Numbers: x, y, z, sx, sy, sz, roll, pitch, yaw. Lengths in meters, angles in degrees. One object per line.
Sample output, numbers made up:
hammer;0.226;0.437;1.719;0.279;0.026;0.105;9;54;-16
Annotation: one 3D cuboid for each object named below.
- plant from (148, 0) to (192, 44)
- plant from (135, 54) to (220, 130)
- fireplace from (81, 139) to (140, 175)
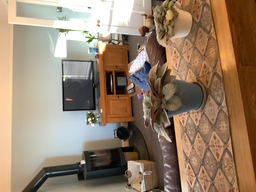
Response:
plant;0.210;-0.380;1.090;0.160;0.150;0.170;168;100;-70
plant;0.210;0.000;0.980;0.270;0.250;0.290;155;113;-68
fireplace;-0.340;1.120;3.960;0.390;1.000;0.390;-115;31;-48
